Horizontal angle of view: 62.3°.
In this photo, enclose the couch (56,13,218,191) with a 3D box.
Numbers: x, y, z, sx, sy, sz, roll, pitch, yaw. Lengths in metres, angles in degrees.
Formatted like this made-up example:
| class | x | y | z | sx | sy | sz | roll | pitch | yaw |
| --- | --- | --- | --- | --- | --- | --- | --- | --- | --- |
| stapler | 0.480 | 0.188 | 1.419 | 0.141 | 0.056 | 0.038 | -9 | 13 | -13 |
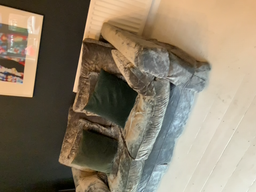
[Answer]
| class | x | y | z | sx | sy | sz | roll | pitch | yaw |
| --- | --- | --- | --- | --- | --- | --- | --- | --- | --- |
| couch | -0.150 | 0.340 | 2.340 | 1.150 | 0.840 | 2.060 | 50 | 129 | 54 |
